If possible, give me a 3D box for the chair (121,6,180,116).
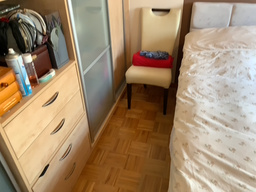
[{"bbox_3d":[0.250,-0.380,2.260,0.460,0.960,0.590,7,35,13],"label":"chair"}]
